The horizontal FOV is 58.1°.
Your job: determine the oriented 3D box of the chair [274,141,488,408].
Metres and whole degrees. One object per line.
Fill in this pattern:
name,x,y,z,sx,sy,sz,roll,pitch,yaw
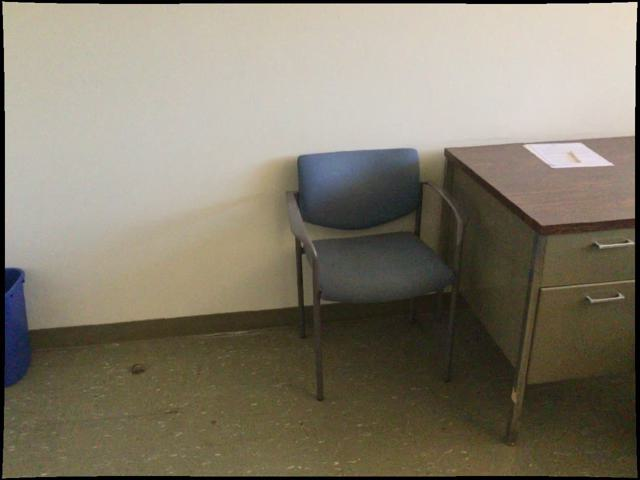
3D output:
chair,0.190,0.100,2.150,0.618,0.772,0.530,-6,25,-8
